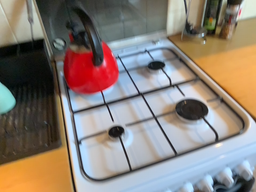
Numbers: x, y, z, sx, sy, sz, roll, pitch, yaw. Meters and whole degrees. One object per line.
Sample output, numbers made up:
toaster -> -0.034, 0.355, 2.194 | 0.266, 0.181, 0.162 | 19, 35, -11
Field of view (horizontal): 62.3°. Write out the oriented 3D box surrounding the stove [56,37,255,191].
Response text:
stove -> 0.040, 0.030, 0.750 | 0.500, 0.130, 0.610 | -15, 43, -12
